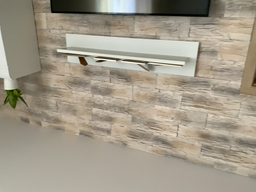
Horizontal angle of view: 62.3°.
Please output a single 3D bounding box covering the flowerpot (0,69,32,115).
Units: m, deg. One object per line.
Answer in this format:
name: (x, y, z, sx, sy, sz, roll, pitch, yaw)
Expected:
flowerpot: (-0.960, -0.040, 1.760, 0.170, 0.320, 0.200, 9, -157, 18)
